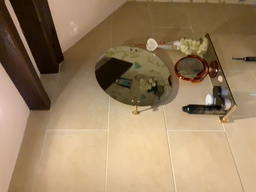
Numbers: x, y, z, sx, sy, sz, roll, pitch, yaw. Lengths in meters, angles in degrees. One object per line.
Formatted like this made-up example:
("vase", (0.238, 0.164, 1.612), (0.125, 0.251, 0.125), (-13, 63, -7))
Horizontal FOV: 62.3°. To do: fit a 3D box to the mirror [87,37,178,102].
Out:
("mirror", (0.020, -0.180, 1.310), (0.050, 0.490, 0.490), (94, 175, -53))
